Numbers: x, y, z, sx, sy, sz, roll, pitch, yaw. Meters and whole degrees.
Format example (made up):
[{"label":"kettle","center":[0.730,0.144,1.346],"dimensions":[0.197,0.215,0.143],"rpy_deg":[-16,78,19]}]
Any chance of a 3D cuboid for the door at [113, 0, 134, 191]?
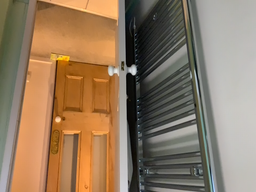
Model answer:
[{"label":"door","center":[-0.050,0.050,1.510],"dimensions":[0.080,1.780,1.080],"rpy_deg":[-1,162,-2]}]
